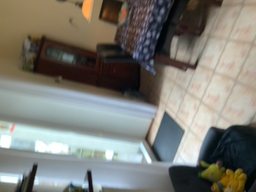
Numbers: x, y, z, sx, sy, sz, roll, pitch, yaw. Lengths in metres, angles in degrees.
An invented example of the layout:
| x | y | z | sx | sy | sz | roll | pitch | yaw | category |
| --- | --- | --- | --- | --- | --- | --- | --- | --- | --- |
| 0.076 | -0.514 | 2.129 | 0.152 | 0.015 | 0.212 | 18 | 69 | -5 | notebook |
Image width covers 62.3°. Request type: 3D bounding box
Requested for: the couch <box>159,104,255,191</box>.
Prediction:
| x | y | z | sx | sy | sz | roll | pitch | yaw | category |
| --- | --- | --- | --- | --- | --- | --- | --- | --- | --- |
| 0.690 | 0.520 | 1.550 | 0.620 | 0.550 | 0.620 | -120 | 45 | -63 | couch |

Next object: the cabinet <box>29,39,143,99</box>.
| x | y | z | sx | sy | sz | roll | pitch | yaw | category |
| --- | --- | --- | --- | --- | --- | --- | --- | --- | --- |
| -0.780 | -0.520 | 4.160 | 0.670 | 1.950 | 0.590 | -128 | 52 | -66 | cabinet |

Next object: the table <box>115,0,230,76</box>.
| x | y | z | sx | sy | sz | roll | pitch | yaw | category |
| --- | --- | --- | --- | --- | --- | --- | --- | --- | --- |
| 0.440 | -1.030 | 3.010 | 1.600 | 0.760 | 0.920 | -122 | 47 | -65 | table |
